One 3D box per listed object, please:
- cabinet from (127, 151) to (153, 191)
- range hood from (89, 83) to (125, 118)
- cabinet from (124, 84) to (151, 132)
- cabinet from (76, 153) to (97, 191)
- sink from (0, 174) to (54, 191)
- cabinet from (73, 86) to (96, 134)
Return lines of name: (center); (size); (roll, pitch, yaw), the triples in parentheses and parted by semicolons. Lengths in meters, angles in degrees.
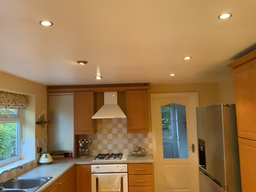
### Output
cabinet: (0.210, 1.490, 3.720); (0.400, 0.910, 0.600); (-2, -5, 1)
range hood: (-0.370, 0.100, 3.910); (0.580, 0.580, 0.490); (-2, -5, 1)
cabinet: (0.170, 0.230, 3.960); (0.450, 0.850, 0.340); (-2, -5, 1)
cabinet: (-0.720, 1.530, 3.750); (0.240, 0.900, 0.600); (-2, -5, 1)
sink: (-1.190, 1.100, 2.490); (0.490, 0.230, 0.420); (-2, -5, 1)
cabinet: (-0.820, 0.260, 3.990); (0.350, 0.850, 0.320); (-2, -5, 1)
